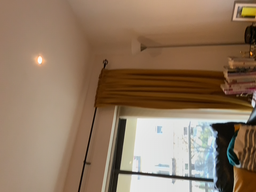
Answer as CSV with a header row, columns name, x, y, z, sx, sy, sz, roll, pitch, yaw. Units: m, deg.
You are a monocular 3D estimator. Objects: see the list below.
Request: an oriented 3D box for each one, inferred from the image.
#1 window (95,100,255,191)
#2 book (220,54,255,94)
name,x,y,z,sx,sy,sz,roll,pitch,yaw
window,0.770,0.870,2.330,0.360,2.170,1.650,68,-155,-59
book,1.180,-0.240,2.280,0.250,0.290,0.370,-55,-37,-69
